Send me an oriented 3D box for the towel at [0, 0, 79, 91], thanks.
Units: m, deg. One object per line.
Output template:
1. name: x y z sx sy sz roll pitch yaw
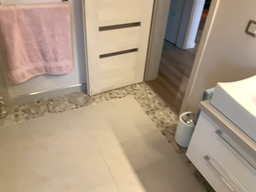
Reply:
1. towel: -0.770 -0.450 1.870 0.600 0.740 0.160 -14 41 -24

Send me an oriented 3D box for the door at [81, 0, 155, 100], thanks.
1. door: -0.080 -0.860 1.940 0.680 2.030 0.120 -13 41 -23
